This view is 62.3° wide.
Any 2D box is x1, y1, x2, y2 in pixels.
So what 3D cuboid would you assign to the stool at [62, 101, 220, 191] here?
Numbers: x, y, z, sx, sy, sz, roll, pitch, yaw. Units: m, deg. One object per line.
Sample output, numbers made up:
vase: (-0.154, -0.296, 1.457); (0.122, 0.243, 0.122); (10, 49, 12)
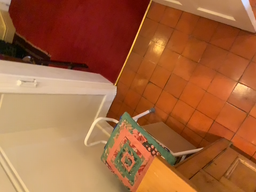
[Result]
stool: (0.110, 0.370, 1.440); (0.750, 0.720, 0.320); (35, 109, 31)
